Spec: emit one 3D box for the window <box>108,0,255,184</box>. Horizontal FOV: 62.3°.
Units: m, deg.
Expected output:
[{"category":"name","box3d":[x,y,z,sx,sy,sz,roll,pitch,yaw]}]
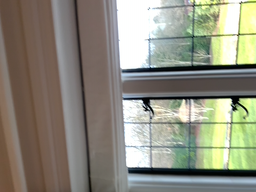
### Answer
[{"category":"window","box3d":[0.400,-0.820,1.180,0.100,1.050,2.940,-69,-23,-74]}]
